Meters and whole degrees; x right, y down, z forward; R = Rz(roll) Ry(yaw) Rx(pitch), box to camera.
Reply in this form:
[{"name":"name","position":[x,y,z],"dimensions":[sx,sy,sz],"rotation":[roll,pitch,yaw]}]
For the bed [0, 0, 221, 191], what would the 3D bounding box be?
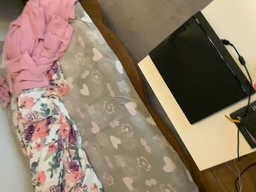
[{"name":"bed","position":[-0.280,0.310,1.580],"dimensions":[1.210,0.430,1.980],"rotation":[-35,78,33]}]
